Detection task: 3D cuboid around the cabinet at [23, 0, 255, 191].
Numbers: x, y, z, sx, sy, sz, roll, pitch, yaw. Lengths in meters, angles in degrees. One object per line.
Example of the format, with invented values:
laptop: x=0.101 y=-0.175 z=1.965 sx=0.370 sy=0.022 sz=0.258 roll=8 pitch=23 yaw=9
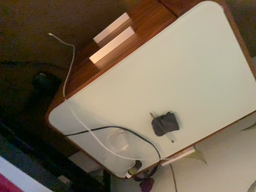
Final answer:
cabinet: x=0.070 y=-0.050 z=0.800 sx=0.580 sy=0.400 sz=0.490 roll=-31 pitch=121 yaw=14
